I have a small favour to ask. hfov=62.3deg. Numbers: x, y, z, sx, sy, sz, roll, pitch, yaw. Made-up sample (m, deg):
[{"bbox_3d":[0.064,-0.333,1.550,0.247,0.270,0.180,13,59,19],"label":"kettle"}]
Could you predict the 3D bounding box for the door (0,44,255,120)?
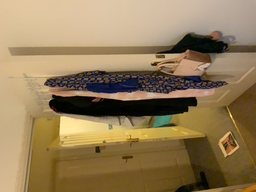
[{"bbox_3d":[0.150,-0.090,1.740,0.830,1.990,0.070,103,161,-56],"label":"door"}]
